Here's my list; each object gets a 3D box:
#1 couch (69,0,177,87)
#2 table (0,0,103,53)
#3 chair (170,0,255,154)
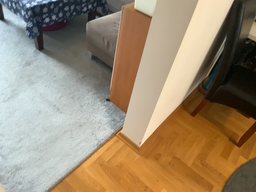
[{"bbox_3d":[-0.060,-0.670,2.320,0.770,0.510,0.810,34,48,18],"label":"couch"},{"bbox_3d":[-1.050,-1.190,2.530,1.130,0.560,0.970,36,48,19],"label":"table"},{"bbox_3d":[0.900,-0.160,1.710,0.650,1.060,0.480,37,49,20],"label":"chair"}]
